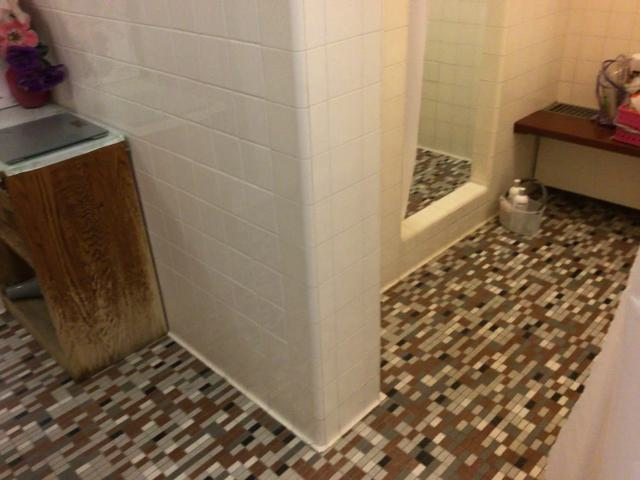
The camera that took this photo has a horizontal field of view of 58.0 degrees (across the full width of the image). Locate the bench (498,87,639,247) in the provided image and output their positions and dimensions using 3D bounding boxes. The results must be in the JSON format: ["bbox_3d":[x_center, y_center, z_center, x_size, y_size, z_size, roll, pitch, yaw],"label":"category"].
[{"bbox_3d":[1.440,-0.240,2.320,1.310,0.450,0.420,24,40,39],"label":"bench"}]
